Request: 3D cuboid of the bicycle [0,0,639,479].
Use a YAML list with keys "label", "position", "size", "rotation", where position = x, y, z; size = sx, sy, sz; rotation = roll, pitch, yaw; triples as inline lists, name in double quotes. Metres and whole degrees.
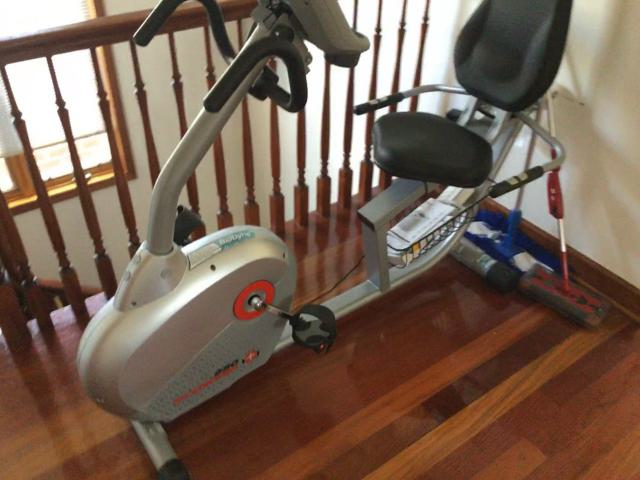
- label: "bicycle"
  position: [-0.010, -0.240, 1.470]
  size: [1.740, 1.230, 0.770]
  rotation: [-24, 45, -26]
